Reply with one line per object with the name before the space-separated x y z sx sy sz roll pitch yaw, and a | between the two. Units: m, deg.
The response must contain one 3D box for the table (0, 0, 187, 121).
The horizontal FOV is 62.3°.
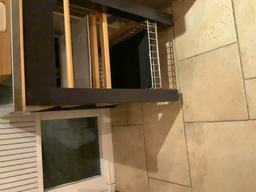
table | -0.250 -0.150 1.190 0.770 0.770 0.490 -13 80 51
